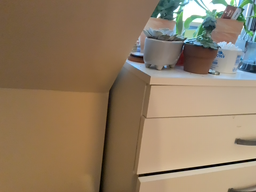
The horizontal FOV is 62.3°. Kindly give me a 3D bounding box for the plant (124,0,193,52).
[{"bbox_3d":[0.090,-0.250,0.700,0.140,0.170,0.170,0,19,-21],"label":"plant"}]

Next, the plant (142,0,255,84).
[{"bbox_3d":[0.340,-0.290,0.790,0.450,0.420,0.290,2,18,-17],"label":"plant"}]
